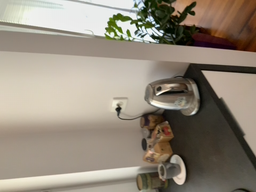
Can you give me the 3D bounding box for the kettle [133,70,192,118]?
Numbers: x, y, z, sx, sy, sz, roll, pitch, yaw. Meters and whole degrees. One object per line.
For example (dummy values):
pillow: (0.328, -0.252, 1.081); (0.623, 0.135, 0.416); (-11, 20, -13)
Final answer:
kettle: (0.170, -0.010, 1.110); (0.150, 0.220, 0.190); (109, 154, -44)
